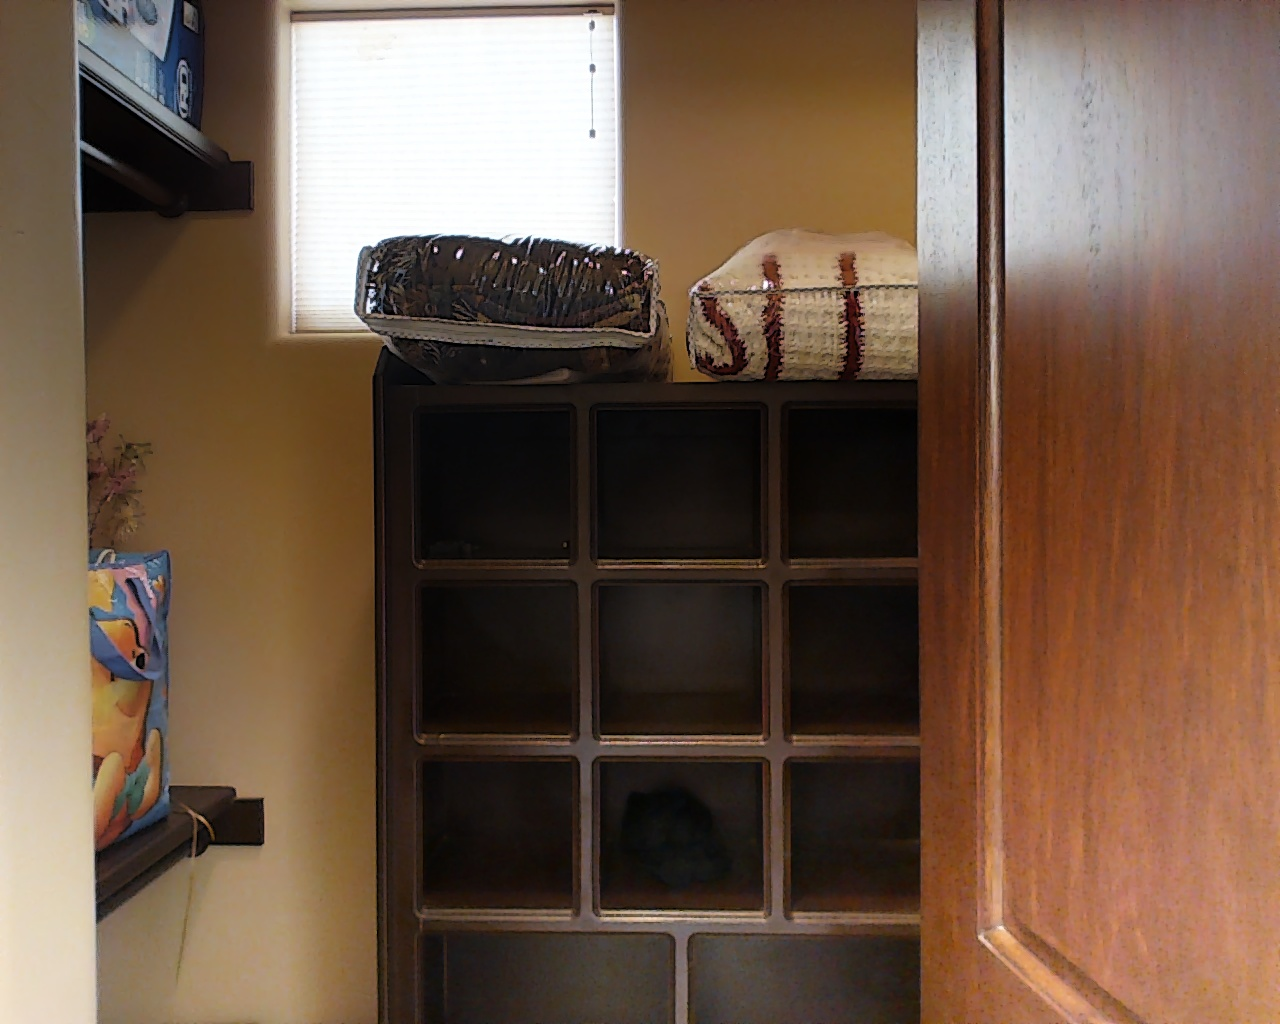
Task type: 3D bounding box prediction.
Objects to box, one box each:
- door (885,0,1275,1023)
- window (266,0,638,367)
[{"bbox_3d":[0.330,0.240,0.920,0.050,2.460,0.510,0,2,-8],"label":"door"},{"bbox_3d":[-0.330,-0.590,1.890,0.650,0.660,0.040,0,2,2],"label":"window"}]
